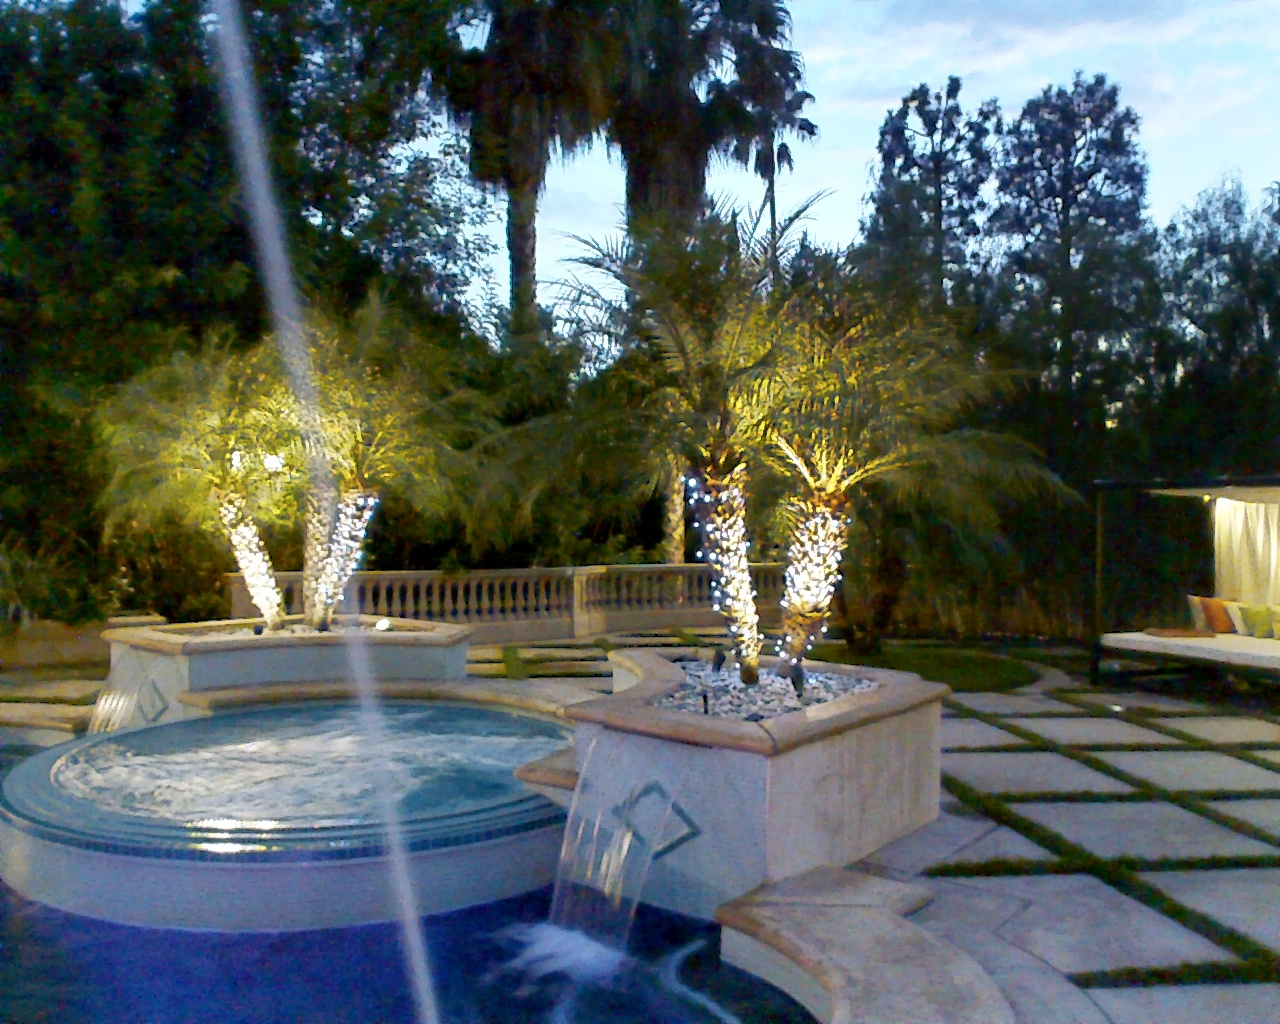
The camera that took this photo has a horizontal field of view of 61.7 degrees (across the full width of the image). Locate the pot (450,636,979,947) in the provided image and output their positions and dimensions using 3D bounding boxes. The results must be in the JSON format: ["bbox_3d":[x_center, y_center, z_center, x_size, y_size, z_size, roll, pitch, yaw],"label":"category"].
[{"bbox_3d":[0.480,1.330,5.940,1.990,0.950,2.250,0,0,38],"label":"pot"}]
